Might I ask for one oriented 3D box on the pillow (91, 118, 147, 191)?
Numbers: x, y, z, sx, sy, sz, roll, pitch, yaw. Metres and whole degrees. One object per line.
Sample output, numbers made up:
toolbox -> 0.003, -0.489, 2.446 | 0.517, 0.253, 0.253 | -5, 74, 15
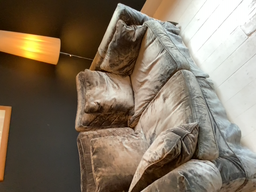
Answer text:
pillow -> -0.050, 0.460, 1.720 | 0.630, 0.360, 0.180 | -84, 5, -62

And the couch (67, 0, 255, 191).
couch -> 0.080, 0.150, 1.860 | 1.190, 0.810, 1.660 | -53, 40, 40

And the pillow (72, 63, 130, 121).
pillow -> -0.240, -0.050, 2.090 | 0.140, 0.480, 0.550 | 105, 173, -48

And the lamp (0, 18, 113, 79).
lamp -> -0.840, -0.520, 2.520 | 0.330, 1.260, 0.300 | -53, 40, 40
